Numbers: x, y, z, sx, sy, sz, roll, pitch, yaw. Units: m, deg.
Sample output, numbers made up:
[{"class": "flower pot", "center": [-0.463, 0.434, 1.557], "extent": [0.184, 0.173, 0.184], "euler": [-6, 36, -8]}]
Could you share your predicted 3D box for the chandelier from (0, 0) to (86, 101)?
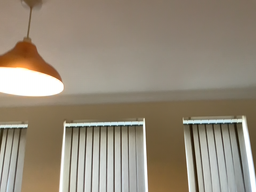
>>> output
[{"class": "chandelier", "center": [-0.390, -0.200, 0.920], "extent": [0.320, 0.340, 0.460], "euler": [0, -15, -1]}]

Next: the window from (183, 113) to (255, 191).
[{"class": "window", "center": [0.880, 0.990, 1.980], "extent": [0.590, 1.660, 0.040], "euler": [-2, -15, 6]}]
